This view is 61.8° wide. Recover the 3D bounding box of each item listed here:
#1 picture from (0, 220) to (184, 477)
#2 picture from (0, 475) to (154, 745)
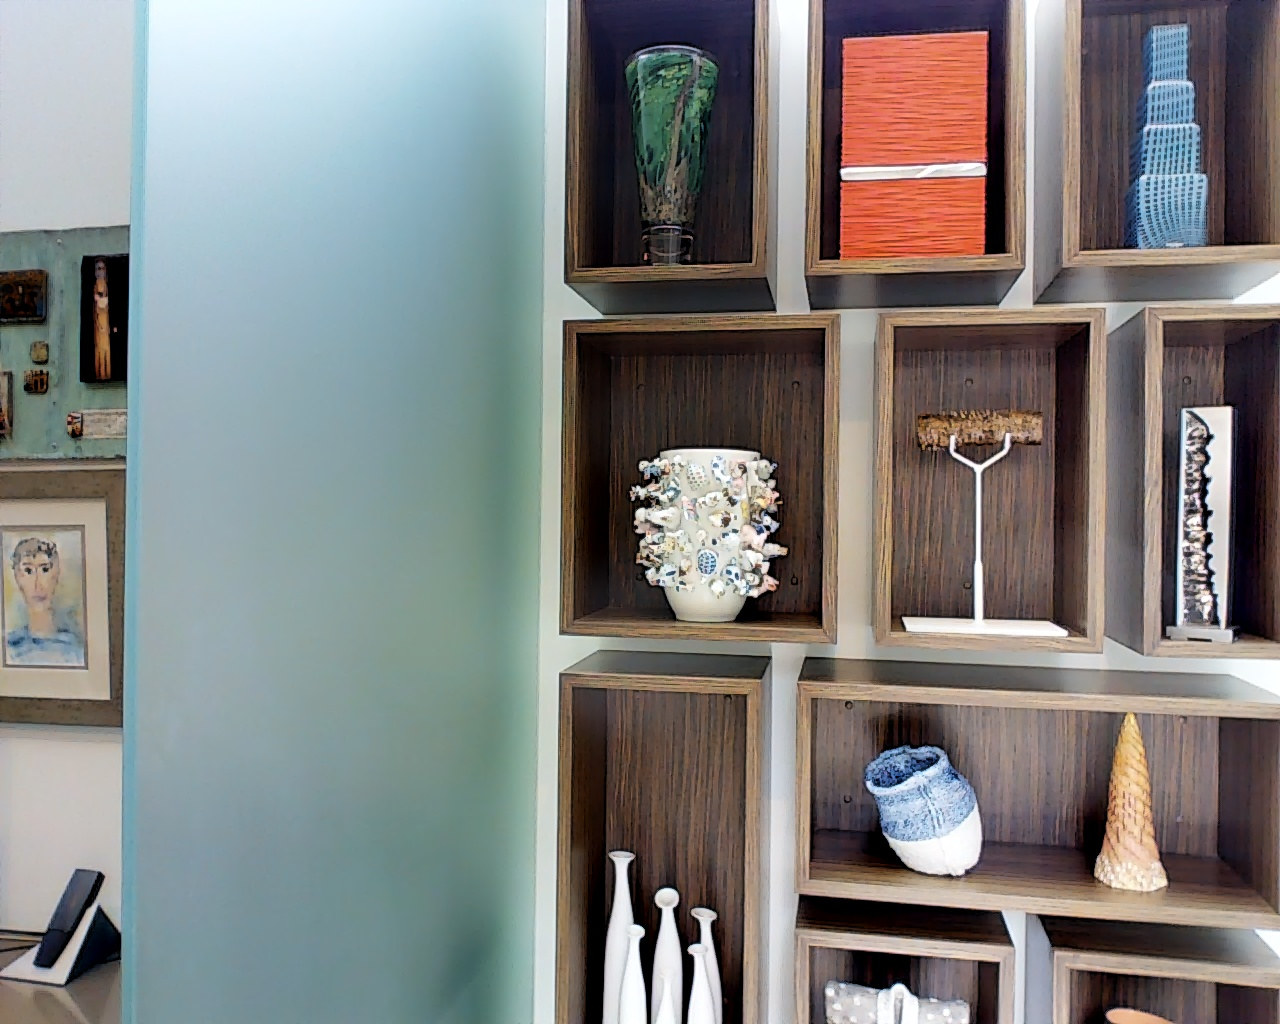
[{"bbox_3d":[-1.120,-0.290,1.940,0.630,0.450,0.020,1,0,11],"label":"picture"},{"bbox_3d":[-1.060,0.170,1.920,0.390,0.470,0.030,1,0,11],"label":"picture"}]
